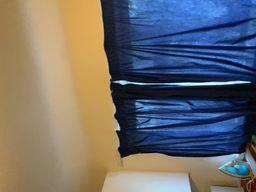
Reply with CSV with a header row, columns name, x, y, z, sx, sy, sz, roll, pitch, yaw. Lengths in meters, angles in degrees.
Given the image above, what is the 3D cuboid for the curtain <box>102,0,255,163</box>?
name,x,y,z,sx,sy,sz,roll,pitch,yaw
curtain,0.390,-0.210,1.420,0.070,1.040,1.590,-72,-20,-63
